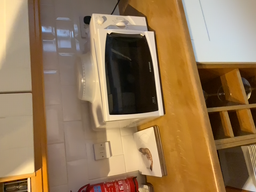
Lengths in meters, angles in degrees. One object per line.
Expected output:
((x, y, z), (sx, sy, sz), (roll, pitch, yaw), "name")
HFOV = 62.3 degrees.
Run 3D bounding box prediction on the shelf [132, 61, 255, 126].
((0.530, 0.000, 1.140), (0.570, 0.860, 0.160), (143, 120, -65), "shelf")
